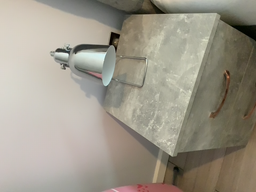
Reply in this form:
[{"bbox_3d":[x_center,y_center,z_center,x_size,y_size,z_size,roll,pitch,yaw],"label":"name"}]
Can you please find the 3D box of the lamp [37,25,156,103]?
[{"bbox_3d":[-0.110,-0.100,0.690,0.240,0.280,0.170,22,103,53],"label":"lamp"}]
